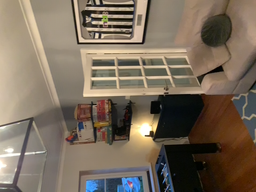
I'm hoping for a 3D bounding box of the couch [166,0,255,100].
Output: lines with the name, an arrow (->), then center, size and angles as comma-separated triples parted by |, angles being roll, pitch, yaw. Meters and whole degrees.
couch -> 1.070, -0.970, 2.070 | 2.000, 0.810, 0.950 | 96, 170, -50
